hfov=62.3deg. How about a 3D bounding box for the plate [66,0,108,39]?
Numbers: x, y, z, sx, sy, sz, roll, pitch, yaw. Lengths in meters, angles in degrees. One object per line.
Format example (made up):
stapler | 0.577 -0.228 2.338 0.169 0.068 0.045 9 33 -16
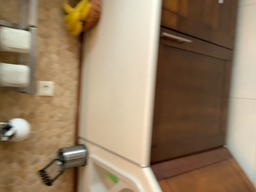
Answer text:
plate | -0.230 -0.480 1.180 0.210 0.130 0.280 11 97 50
